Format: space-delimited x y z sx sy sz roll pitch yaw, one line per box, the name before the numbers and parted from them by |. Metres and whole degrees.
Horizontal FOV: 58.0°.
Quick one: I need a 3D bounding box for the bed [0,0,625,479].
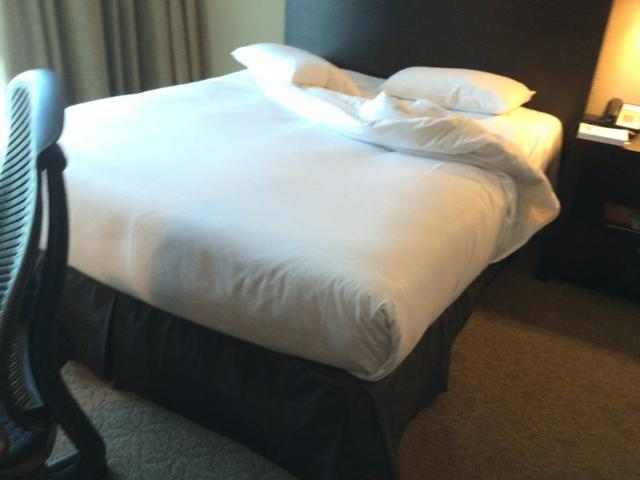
bed | 0.000 -0.490 2.190 1.780 1.540 2.120 14 27 27
